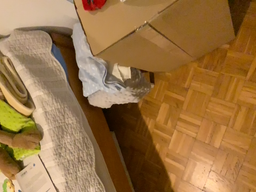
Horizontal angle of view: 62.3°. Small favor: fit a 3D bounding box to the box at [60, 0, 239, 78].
[{"bbox_3d":[0.110,-0.350,0.800,0.400,0.590,0.390,-24,77,29],"label":"box"}]
